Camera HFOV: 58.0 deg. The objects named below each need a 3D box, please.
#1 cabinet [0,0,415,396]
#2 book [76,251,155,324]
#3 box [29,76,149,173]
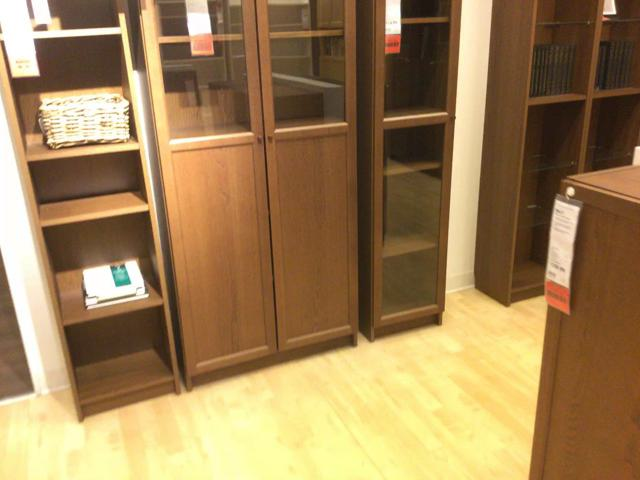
[{"bbox_3d":[-0.400,-0.560,2.130,1.440,2.420,0.400,-25,45,-14],"label":"cabinet"},{"bbox_3d":[-0.800,0.180,2.250,0.250,0.110,0.220,-25,28,-14],"label":"book"},{"bbox_3d":[-0.800,-0.410,2.010,0.310,0.200,0.250,-25,28,-14],"label":"box"}]
